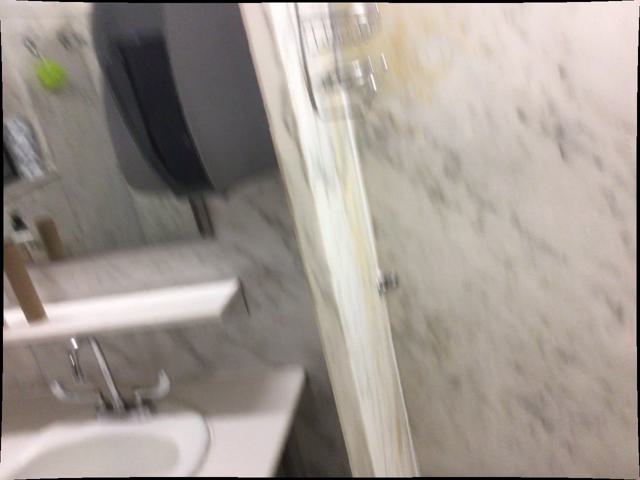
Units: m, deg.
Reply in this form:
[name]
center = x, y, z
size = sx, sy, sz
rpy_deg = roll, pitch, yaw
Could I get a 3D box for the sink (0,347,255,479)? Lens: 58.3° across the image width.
[sink]
center = -0.480, 0.480, 1.240
size = 0.530, 0.200, 0.510
rpy_deg = -8, 20, 12

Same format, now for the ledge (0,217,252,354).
[ledge]
center = -0.729, 0.140, 1.410
size = 1.079, 0.160, 0.260
rpy_deg = -8, 20, 12

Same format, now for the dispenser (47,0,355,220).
[dispenser]
center = -0.160, -0.320, 0.970
size = 0.330, 0.420, 0.400
rpy_deg = -8, 20, 12
